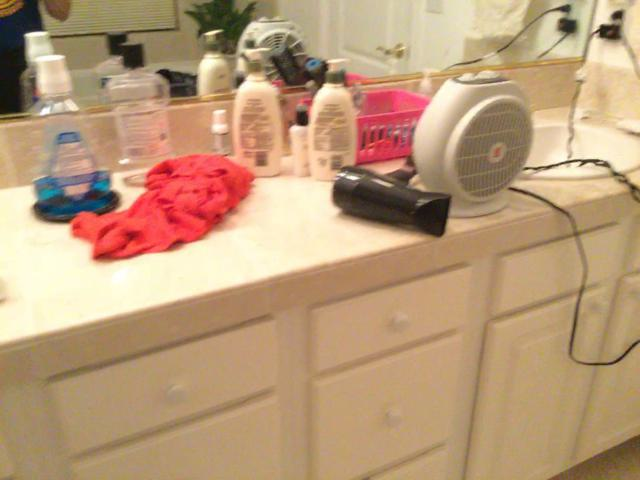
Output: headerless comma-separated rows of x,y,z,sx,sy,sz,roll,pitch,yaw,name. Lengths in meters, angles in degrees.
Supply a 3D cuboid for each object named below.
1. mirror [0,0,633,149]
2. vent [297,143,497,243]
-0.280,-0.370,1.190,2.290,0.240,0.270,-11,24,-24,mirror
0.130,-0.100,1.070,0.250,0.080,0.280,-11,24,-24,vent
